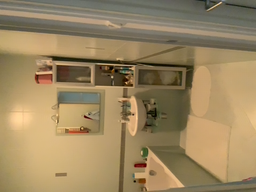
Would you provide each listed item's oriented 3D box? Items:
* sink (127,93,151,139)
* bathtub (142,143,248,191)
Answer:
[{"bbox_3d":[0.130,0.250,2.840,0.460,0.180,0.540,-162,75,-76],"label":"sink"},{"bbox_3d":[0.650,1.140,2.560,1.380,0.550,0.730,-158,71,-76],"label":"bathtub"}]
